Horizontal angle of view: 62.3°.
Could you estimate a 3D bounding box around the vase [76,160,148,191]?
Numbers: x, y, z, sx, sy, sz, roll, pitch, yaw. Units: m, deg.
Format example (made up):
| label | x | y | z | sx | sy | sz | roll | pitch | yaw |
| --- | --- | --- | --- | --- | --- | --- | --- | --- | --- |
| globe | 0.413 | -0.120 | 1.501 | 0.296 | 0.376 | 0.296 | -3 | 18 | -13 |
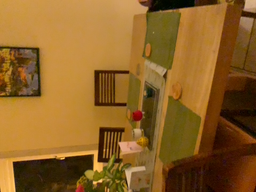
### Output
| label | x | y | z | sx | sy | sz | roll | pitch | yaw |
| --- | --- | --- | --- | --- | --- | --- | --- | --- | --- |
| vase | -0.150 | 0.820 | 1.650 | 0.320 | 0.470 | 0.480 | -131 | 44 | -63 |
